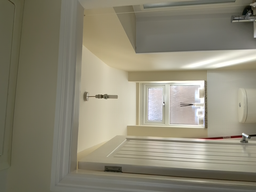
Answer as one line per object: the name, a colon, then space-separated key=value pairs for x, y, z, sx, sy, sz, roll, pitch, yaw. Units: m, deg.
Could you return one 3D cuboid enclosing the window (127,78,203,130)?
window: x=0.490 y=0.100 z=2.830 sx=0.130 sy=0.960 sz=0.650 roll=38 pitch=-127 yaw=-78
